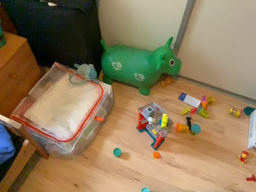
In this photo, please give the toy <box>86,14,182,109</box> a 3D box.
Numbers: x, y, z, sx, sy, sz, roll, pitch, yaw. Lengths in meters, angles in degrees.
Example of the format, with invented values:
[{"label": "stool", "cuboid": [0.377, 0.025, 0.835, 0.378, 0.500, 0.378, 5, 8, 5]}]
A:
[{"label": "toy", "cuboid": [0.030, -0.230, 1.560, 0.550, 0.500, 0.260, 23, 60, 11]}]
